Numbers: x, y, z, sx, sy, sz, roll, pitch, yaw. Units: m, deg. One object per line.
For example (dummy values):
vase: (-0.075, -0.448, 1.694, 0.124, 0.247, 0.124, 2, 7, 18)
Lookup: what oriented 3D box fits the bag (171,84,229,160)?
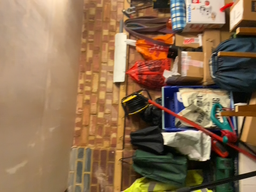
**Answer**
bag: (0.630, 0.230, 1.920, 0.320, 0.410, 0.610, 88, -175, -83)
